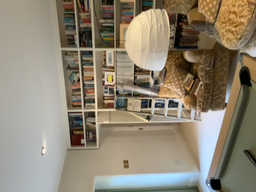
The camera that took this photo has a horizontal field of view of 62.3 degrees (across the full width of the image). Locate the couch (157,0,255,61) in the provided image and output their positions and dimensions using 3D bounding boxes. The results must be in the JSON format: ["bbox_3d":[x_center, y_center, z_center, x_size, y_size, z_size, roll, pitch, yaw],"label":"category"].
[{"bbox_3d":[0.970,-1.200,2.570,1.630,0.830,0.860,-97,8,-52],"label":"couch"}]

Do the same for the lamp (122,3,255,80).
[{"bbox_3d":[0.680,-0.680,2.570,0.740,1.450,0.700,-99,10,-59],"label":"lamp"}]

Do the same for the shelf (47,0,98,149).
[{"bbox_3d":[-0.930,-0.980,3.640,0.310,0.660,4.350,-102,13,-66],"label":"shelf"}]

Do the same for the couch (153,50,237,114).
[{"bbox_3d":[0.920,-0.280,3.250,1.080,0.820,0.820,-113,23,-77],"label":"couch"}]
